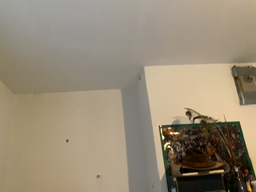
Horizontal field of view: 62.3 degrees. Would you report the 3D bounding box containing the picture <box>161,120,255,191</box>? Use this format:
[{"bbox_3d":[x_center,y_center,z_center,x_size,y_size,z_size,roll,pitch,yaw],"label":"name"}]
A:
[{"bbox_3d":[0.680,0.520,1.790,0.730,0.600,0.020,-2,-20,-8],"label":"picture"}]
